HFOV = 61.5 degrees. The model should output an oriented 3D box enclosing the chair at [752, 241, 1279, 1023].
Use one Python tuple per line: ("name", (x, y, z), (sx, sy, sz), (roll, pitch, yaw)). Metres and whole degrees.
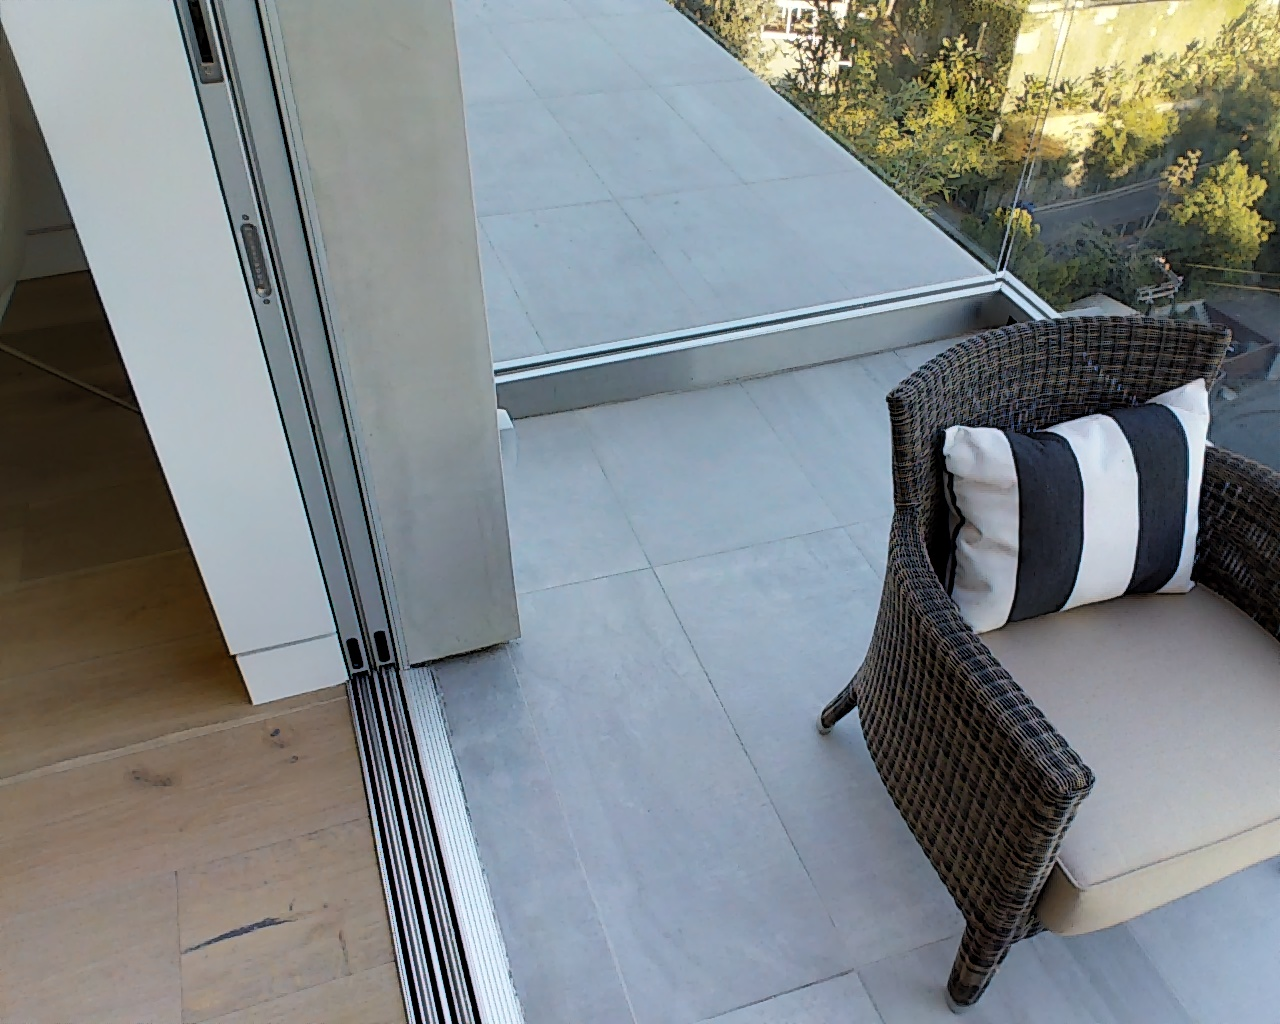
("chair", (0.710, 0.170, 1.650), (0.770, 0.790, 0.760), (-13, 41, -16))
